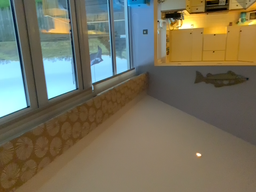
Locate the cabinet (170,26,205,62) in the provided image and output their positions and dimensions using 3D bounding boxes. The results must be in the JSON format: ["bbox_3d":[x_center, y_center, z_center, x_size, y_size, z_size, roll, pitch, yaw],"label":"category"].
[{"bbox_3d":[1.790,-1.560,6.430,0.950,1.020,0.310,3,-164,20],"label":"cabinet"}]
